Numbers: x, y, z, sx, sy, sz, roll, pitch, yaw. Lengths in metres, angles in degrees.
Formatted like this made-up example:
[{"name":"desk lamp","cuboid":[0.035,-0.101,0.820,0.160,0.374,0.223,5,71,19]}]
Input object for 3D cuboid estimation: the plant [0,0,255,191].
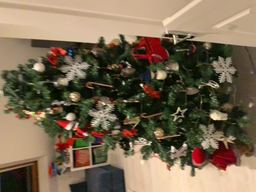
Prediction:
[{"name":"plant","cuboid":[-0.050,0.160,1.600,1.270,1.530,1.180,180,88,-64]}]
